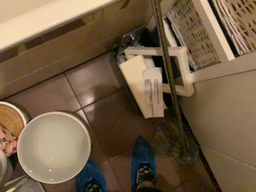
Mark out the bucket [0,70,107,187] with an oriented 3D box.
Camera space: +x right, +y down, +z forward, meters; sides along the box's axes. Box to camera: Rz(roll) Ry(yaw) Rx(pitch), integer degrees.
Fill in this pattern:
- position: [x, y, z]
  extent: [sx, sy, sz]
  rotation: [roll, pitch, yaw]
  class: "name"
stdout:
- position: [-0.320, 0.130, 0.970]
  extent: [0.310, 0.210, 0.380]
  rotation: [-25, 92, -8]
  class: "bucket"
